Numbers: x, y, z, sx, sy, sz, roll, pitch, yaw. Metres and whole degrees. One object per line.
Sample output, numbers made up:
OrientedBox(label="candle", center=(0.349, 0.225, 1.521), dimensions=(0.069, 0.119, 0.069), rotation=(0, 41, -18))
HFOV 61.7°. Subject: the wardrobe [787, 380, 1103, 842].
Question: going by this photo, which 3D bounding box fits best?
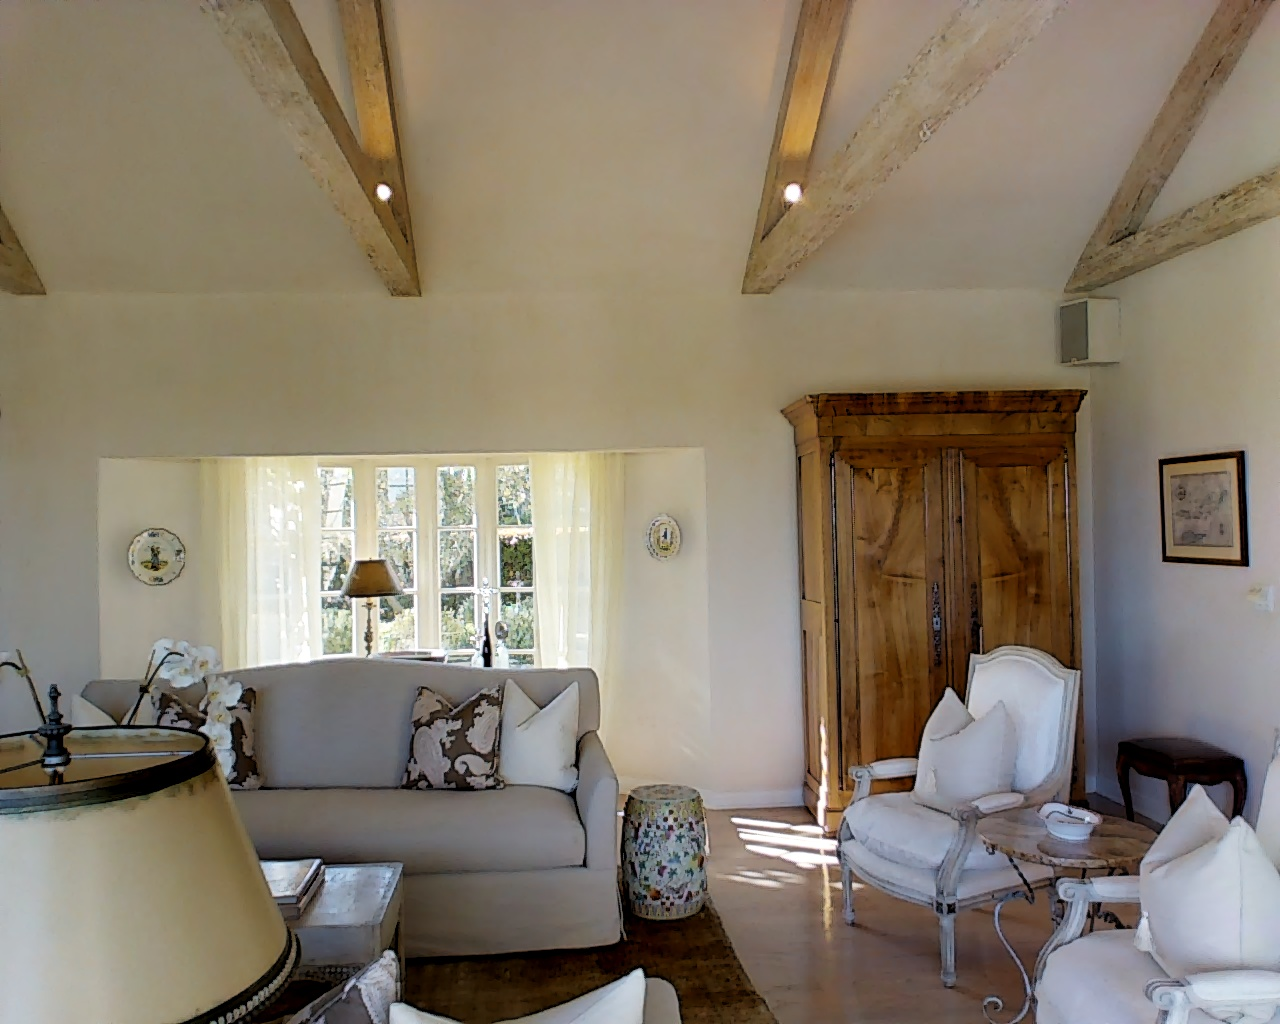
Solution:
OrientedBox(label="wardrobe", center=(1.570, 0.480, 5.650), dimensions=(1.420, 2.251, 0.650), rotation=(-1, 0, -5))
